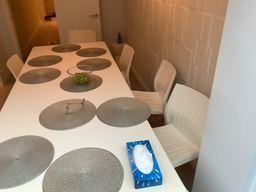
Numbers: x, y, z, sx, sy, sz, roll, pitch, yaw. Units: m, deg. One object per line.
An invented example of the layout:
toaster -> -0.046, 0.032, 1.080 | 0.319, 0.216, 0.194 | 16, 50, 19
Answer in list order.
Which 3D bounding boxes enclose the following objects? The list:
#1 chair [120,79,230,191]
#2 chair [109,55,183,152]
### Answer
chair -> 0.310, 0.370, 1.630 | 0.570, 0.780, 0.460 | -16, 33, -25
chair -> 0.150, 0.060, 2.180 | 0.570, 0.780, 0.490 | -8, 31, -12
